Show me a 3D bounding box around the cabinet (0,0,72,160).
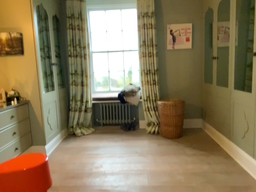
[{"bbox_3d":[-1.400,-0.620,3.000,0.710,2.680,1.120,-2,8,1],"label":"cabinet"}]
